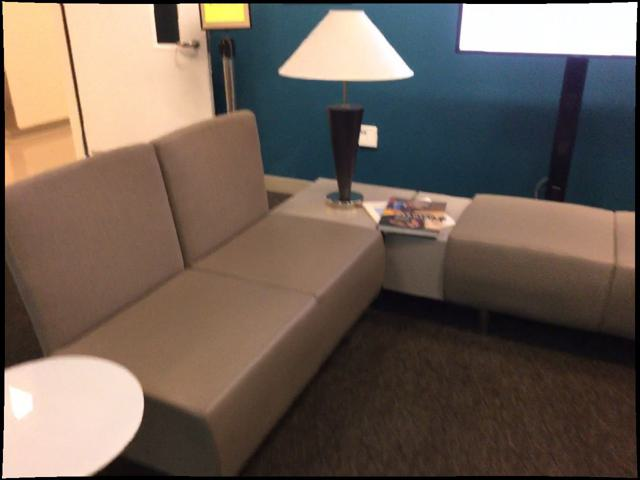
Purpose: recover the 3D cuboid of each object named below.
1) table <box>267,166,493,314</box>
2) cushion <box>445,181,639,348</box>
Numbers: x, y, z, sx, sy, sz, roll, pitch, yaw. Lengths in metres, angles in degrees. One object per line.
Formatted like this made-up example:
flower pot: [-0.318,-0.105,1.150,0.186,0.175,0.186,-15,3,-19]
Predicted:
table: [0.279,-0.040,2.570,0.848,0.321,0.580,10,27,20]
cushion: [1.177,0.100,2.240,1.227,0.331,0.610,10,27,20]
